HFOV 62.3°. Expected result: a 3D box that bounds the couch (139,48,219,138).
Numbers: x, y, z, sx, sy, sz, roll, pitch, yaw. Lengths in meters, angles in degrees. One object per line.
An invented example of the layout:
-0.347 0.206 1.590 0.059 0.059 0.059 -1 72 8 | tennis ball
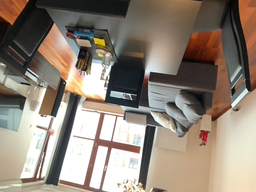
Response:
0.820 0.150 3.950 0.950 0.820 2.430 8 164 9 | couch
